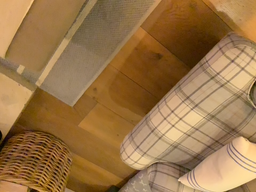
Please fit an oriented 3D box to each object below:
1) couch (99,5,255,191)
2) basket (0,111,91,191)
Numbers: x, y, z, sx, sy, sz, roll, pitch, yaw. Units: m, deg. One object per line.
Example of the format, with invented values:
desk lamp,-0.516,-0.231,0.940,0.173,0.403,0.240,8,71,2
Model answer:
couch,0.560,0.350,1.110,1.050,0.920,0.900,33,122,-18
basket,-0.760,0.610,1.630,0.630,0.500,0.590,35,121,-19
